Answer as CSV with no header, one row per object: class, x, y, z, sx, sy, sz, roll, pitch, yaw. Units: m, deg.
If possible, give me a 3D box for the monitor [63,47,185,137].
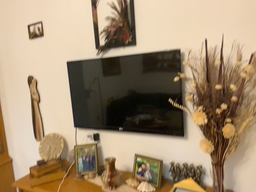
monitor,-0.080,-0.020,1.610,0.980,0.590,0.040,0,9,27
